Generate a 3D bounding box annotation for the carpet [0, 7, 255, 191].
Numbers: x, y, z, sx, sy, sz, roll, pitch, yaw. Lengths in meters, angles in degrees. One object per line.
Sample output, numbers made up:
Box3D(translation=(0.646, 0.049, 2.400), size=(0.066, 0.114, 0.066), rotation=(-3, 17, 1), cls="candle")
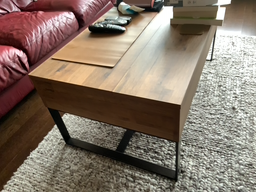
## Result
Box3D(translation=(0.290, -0.140, 1.460), size=(1.560, 0.050, 2.310), rotation=(11, 45, 22), cls="carpet")
